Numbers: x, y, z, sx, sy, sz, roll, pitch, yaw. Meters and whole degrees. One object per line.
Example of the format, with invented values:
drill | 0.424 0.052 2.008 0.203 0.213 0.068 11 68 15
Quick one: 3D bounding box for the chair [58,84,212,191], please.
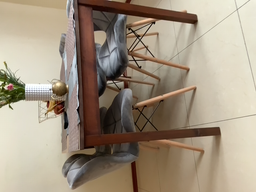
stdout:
chair | 0.000 0.250 1.280 0.450 0.770 0.520 146 122 -65
